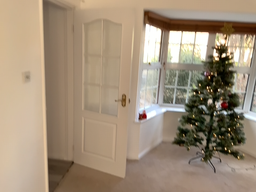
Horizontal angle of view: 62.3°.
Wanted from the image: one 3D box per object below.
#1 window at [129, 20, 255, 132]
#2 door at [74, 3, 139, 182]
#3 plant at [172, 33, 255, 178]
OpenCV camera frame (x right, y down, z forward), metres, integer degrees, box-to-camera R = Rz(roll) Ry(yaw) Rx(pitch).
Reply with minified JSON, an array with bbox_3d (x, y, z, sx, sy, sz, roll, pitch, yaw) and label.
[{"bbox_3d":[1.310,-0.330,3.210,2.380,1.340,1.000,6,13,8],"label":"window"},{"bbox_3d":[-0.310,-0.010,2.550,0.760,2.040,0.090,10,15,24],"label":"door"},{"bbox_3d":[1.280,0.060,3.080,1.040,1.770,0.920,6,13,10],"label":"plant"}]
